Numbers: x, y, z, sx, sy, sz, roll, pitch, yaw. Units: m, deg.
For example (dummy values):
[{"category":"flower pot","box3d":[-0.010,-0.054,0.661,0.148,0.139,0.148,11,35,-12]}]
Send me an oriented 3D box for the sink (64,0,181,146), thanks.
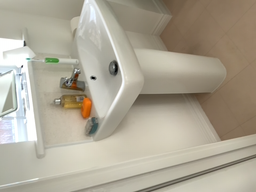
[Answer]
[{"category":"sink","box3d":[-0.090,-0.140,0.970,0.430,0.210,0.560,-55,47,43]}]
